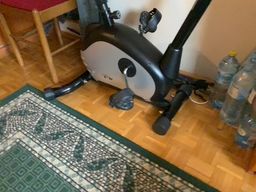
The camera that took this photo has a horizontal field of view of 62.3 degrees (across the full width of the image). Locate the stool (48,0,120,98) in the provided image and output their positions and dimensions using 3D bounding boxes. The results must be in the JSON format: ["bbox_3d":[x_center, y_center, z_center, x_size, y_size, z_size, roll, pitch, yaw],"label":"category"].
[{"bbox_3d":[-0.220,-0.430,1.080,0.250,0.900,0.210,20,45,23],"label":"stool"}]
